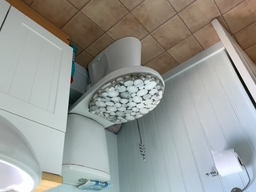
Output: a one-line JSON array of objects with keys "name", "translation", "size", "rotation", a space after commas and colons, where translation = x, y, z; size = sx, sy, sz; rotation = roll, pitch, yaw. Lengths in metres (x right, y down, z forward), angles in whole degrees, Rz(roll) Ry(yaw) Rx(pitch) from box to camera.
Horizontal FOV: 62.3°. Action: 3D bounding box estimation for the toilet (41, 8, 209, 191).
[{"name": "toilet", "translation": [-0.060, 0.060, 1.260], "size": [0.700, 0.770, 0.440], "rotation": [-30, 138, 28]}]
